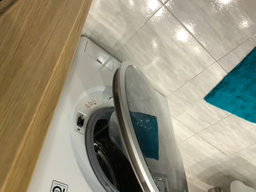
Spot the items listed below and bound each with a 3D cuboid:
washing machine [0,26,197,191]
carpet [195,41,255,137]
[{"bbox_3d":[-0.150,0.280,0.890,0.610,0.850,0.550,35,123,-28],"label":"washing machine"},{"bbox_3d":[0.800,-0.050,1.170,0.630,0.050,0.560,31,124,-25],"label":"carpet"}]
